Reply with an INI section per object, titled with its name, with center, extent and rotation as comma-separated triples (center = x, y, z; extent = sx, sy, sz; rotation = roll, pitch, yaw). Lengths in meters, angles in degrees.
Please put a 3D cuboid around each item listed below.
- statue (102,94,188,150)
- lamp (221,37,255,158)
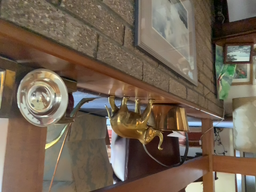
[statue]
center = 0.100, 0.120, 0.940
extent = 0.180, 0.190, 0.420
rotation = -5, 169, 37
[lamp]
center = 1.000, 0.030, 1.610
extent = 0.470, 0.820, 0.460
rotation = -3, 170, 29
